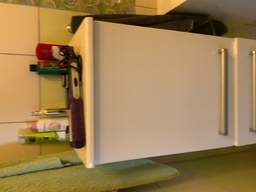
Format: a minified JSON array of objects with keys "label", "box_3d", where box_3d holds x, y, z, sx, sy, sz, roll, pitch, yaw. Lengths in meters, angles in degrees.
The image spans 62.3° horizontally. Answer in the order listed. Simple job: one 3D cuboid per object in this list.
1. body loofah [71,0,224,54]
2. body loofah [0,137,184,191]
[{"label":"body loofah","box_3d":[0.110,-0.290,0.930,0.140,0.680,0.130,174,95,-66]},{"label":"body loofah","box_3d":[-0.340,0.260,0.680,0.210,1.110,0.130,176,93,-67]}]
